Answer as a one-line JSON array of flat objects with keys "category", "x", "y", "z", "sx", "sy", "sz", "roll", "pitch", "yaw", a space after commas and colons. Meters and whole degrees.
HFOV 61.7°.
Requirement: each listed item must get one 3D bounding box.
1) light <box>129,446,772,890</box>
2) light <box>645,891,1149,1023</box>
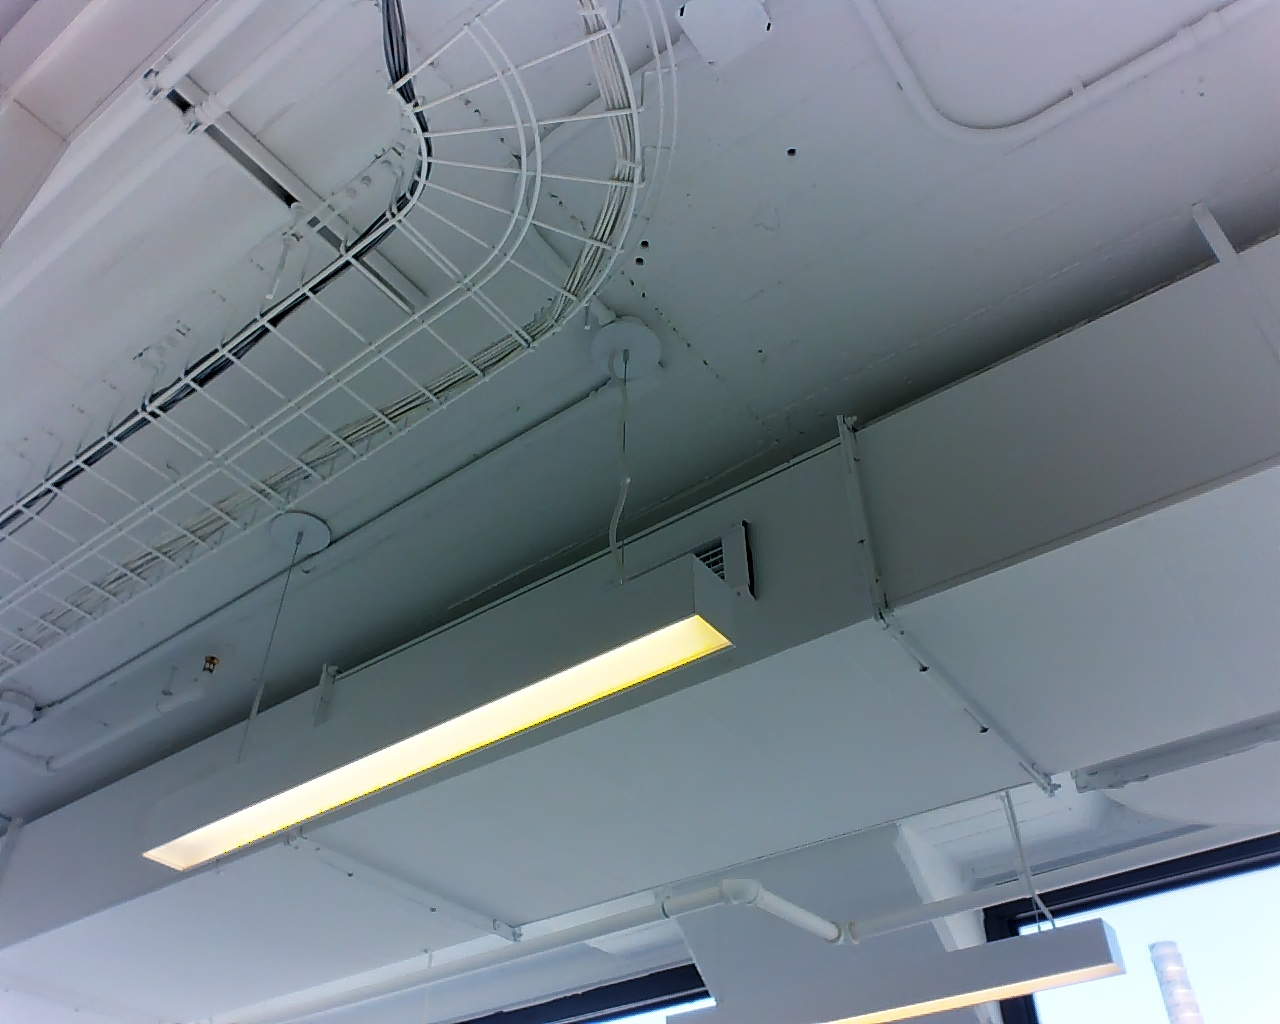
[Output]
[{"category": "light", "x": -0.370, "y": 0.310, "z": 1.800, "sx": 1.250, "sy": 0.300, "sz": 0.170, "roll": -27, "pitch": -48, "yaw": 27}, {"category": "light", "x": 0.580, "y": 1.221, "z": 2.700, "sx": 1.280, "sy": 0.170, "sz": 0.180, "roll": -27, "pitch": -48, "yaw": 27}]
